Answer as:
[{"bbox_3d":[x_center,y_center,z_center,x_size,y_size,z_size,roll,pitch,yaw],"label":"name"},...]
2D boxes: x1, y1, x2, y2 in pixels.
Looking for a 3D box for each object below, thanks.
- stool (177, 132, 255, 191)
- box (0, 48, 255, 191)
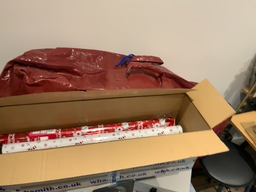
[{"bbox_3d":[0.560,0.530,1.360,0.310,0.490,0.280,-8,39,-12],"label":"stool"},{"bbox_3d":[-0.090,0.150,0.800,1.020,0.400,0.400,-10,40,-14],"label":"box"}]
